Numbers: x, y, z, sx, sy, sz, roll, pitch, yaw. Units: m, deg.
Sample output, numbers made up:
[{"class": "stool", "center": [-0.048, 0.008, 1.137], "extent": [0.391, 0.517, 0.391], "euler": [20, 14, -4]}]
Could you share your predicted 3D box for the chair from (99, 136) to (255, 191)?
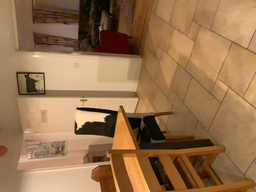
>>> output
[{"class": "chair", "center": [0.340, 0.690, 1.660], "extent": [0.430, 1.020, 0.520], "euler": [-117, 33, -53]}]
